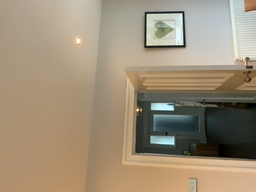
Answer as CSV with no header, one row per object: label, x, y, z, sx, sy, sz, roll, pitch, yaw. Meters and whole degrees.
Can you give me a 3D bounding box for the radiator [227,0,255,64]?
radiator,1.650,-0.920,2.690,0.110,0.670,1.040,62,-150,-74
